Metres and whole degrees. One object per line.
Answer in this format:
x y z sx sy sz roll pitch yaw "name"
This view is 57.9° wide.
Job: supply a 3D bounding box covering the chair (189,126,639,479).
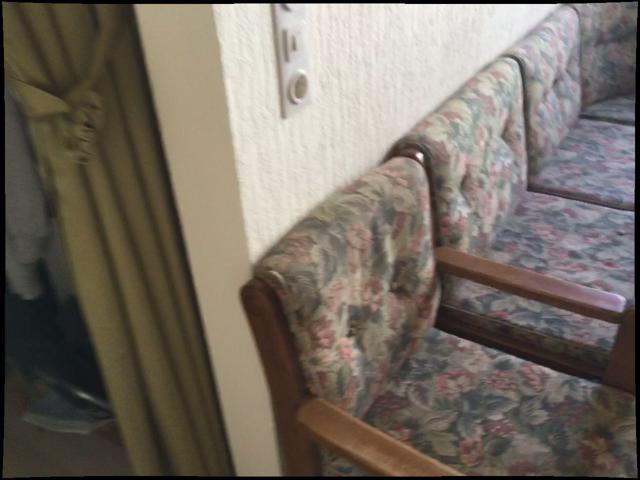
0.280 0.350 1.190 0.700 0.851 0.630 19 42 28 "chair"
